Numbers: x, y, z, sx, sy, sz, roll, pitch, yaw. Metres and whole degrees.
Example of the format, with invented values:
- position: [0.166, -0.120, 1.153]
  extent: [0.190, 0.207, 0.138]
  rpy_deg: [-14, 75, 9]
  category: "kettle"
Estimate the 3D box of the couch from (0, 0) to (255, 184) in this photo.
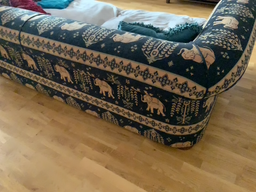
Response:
- position: [-0.310, -0.530, 1.880]
  extent: [2.440, 0.740, 1.300]
  rpy_deg: [20, 48, 24]
  category: "couch"
